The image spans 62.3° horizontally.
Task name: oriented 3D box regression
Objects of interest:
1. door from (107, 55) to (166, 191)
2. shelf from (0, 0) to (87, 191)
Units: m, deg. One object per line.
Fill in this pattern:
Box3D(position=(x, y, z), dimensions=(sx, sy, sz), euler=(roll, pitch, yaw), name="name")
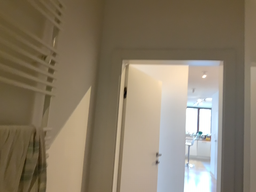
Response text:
Box3D(position=(0.110, 0.710, 2.180), dimensions=(0.080, 2.050, 0.880), euler=(0, -8, 34), name="door")
Box3D(position=(-0.420, 0.070, 0.780), dimensions=(0.170, 1.310, 0.690), euler=(4, -7, 9), name="shelf")
